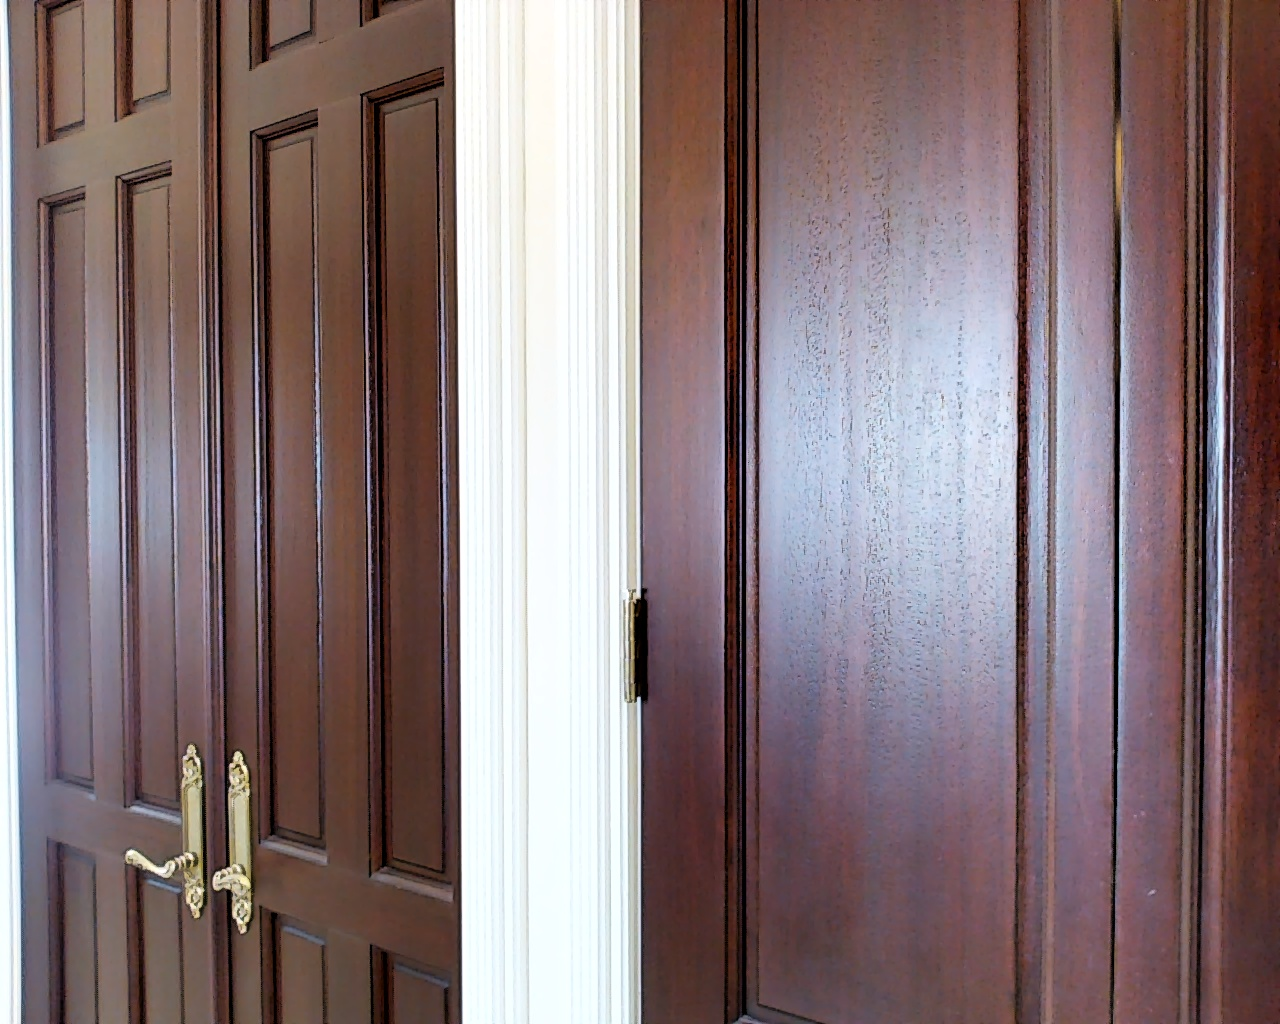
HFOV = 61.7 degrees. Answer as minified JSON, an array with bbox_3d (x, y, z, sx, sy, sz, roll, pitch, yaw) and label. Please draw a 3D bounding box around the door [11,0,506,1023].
[{"bbox_3d":[-0.660,0.200,1.660,1.160,2.350,0.050,1,1,35],"label":"door"}]
